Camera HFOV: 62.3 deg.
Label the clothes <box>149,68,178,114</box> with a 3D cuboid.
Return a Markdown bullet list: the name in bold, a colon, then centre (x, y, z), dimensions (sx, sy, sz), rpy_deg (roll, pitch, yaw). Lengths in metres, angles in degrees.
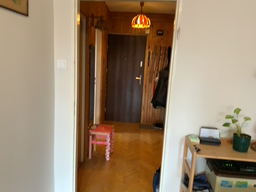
- **clothes**: centre (0.770, -0.120, 4.560), dimensions (0.490, 0.900, 0.360), rpy_deg (6, 11, 14)
